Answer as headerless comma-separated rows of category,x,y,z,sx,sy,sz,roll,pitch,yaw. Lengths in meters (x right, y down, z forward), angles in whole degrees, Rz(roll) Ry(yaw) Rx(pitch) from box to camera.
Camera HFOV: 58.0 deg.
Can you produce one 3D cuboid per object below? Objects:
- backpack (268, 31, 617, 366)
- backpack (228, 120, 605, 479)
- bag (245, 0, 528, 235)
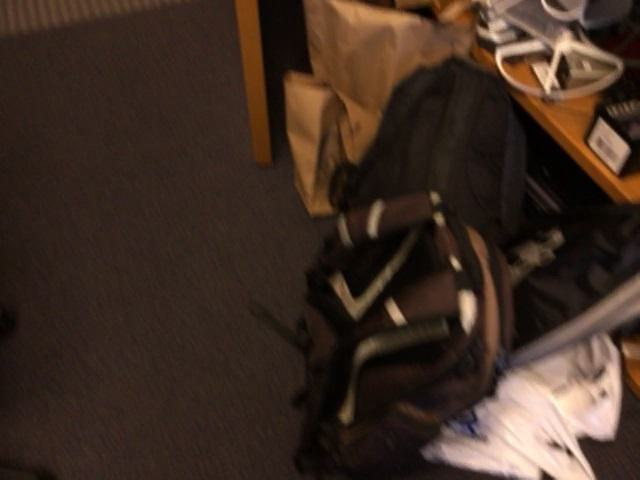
backpack,0.240,-0.090,1.210,0.490,0.430,0.270,-46,0,27
backpack,0.120,0.130,1.010,0.280,0.400,0.470,7,-46,-40
bag,0.110,-0.370,1.380,0.460,0.410,0.470,-16,-35,-15
